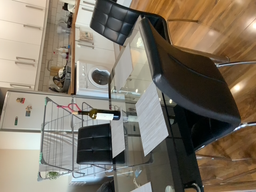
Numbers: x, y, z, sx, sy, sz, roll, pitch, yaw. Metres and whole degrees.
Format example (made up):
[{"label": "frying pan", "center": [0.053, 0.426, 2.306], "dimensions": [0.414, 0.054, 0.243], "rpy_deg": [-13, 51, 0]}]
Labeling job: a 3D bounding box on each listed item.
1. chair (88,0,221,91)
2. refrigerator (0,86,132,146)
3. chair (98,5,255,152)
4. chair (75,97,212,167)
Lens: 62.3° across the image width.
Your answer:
[{"label": "chair", "center": [0.180, -0.480, 1.850], "dimensions": [0.420, 0.960, 0.640], "rpy_deg": [121, 148, -46]}, {"label": "refrigerator", "center": [-0.880, 0.360, 3.150], "dimensions": [0.590, 1.740, 0.550], "rpy_deg": [124, 146, -49]}, {"label": "chair", "center": [0.390, 0.010, 1.180], "dimensions": [0.630, 0.960, 0.390], "rpy_deg": [125, 145, -50]}, {"label": "chair", "center": [0.100, 0.350, 1.790], "dimensions": [0.550, 0.960, 0.410], "rpy_deg": [135, 137, -57]}]
